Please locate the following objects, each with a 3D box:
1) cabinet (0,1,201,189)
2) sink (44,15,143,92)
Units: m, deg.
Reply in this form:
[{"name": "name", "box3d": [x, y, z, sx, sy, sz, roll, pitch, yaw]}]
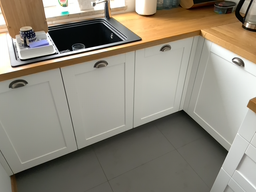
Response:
[{"name": "cabinet", "box3d": [-0.330, -0.140, 1.740, 1.430, 0.850, 0.840, -18, 42, -22]}, {"name": "sink", "box3d": [-0.250, -0.330, 1.470, 0.510, 0.240, 0.520, -16, 41, -20]}]
